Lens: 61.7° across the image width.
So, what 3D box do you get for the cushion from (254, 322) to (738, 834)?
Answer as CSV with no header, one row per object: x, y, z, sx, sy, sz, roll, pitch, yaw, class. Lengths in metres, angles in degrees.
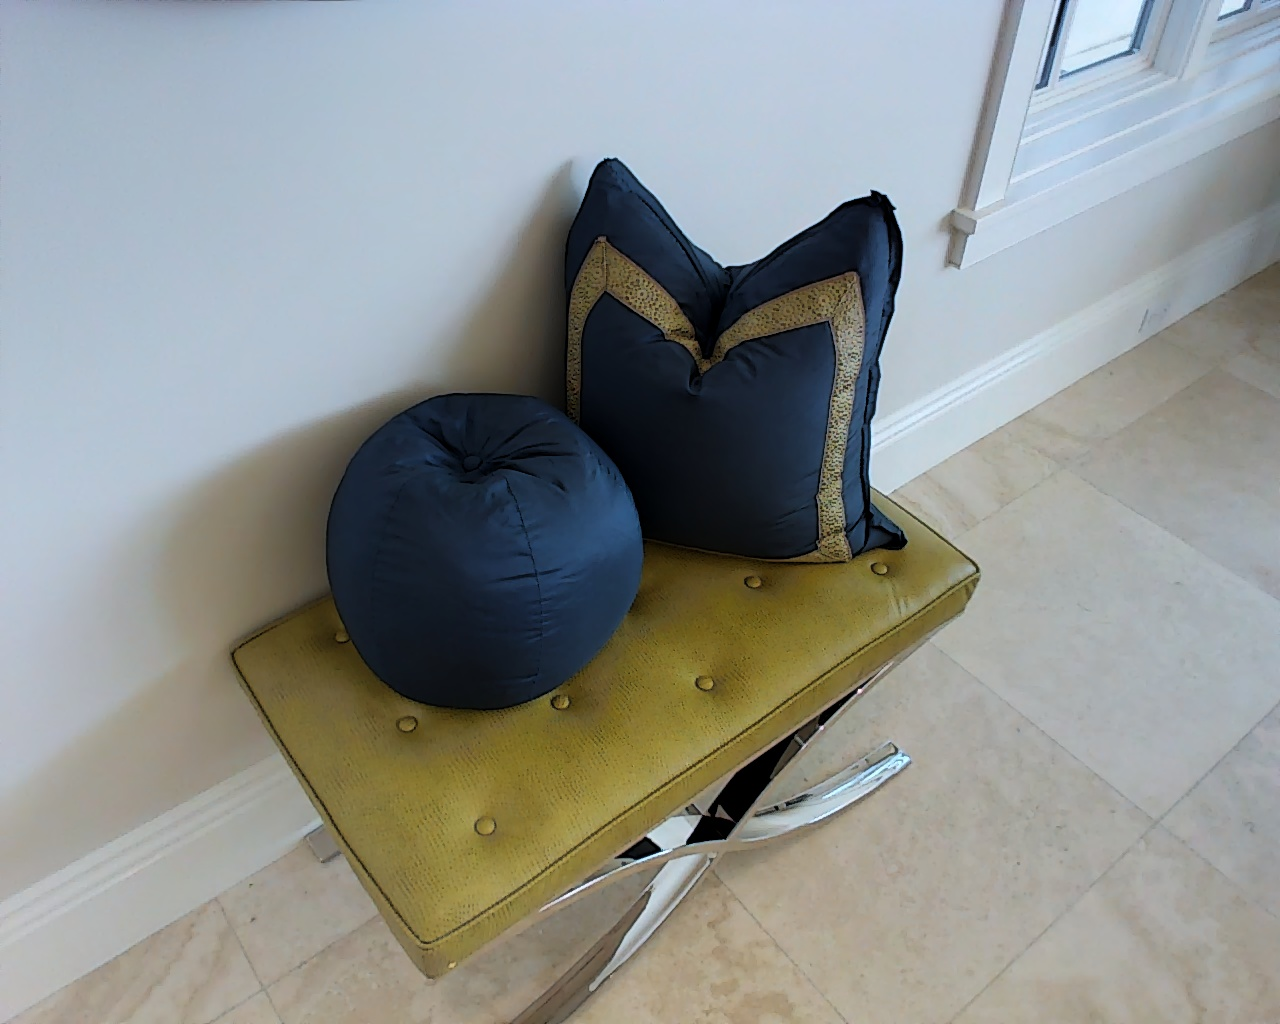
-0.160,0.060,1.280,0.400,0.340,0.350,-27,49,-27,cushion

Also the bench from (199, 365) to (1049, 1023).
0.000,0.300,1.540,0.940,0.540,0.540,-27,49,-27,bench

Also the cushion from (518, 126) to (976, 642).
0.140,-0.170,1.380,0.460,0.480,0.360,10,42,12,cushion
